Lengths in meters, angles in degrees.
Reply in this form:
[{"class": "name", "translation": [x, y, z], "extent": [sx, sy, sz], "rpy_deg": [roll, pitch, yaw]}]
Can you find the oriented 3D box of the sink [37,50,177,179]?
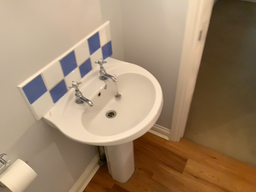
[{"class": "sink", "translation": [-0.070, 0.040, 1.130], "extent": [0.450, 0.210, 0.590], "rpy_deg": [20, 49, 22]}]
